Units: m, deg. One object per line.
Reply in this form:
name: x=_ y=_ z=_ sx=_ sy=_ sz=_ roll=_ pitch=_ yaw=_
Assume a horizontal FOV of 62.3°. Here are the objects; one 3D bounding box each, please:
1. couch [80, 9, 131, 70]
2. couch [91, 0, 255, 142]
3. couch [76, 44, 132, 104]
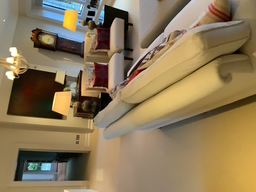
couch: x=-0.510 y=-1.190 z=4.720 sx=0.900 sy=0.880 sz=0.810 roll=144 pitch=130 yaw=-61
couch: x=0.380 y=-0.230 z=2.200 sx=2.240 sy=0.930 sz=1.100 roll=143 pitch=131 yaw=-60
couch: x=-0.520 y=-0.400 z=4.450 sx=0.910 sy=0.900 sz=0.850 roll=144 pitch=130 yaw=-61
